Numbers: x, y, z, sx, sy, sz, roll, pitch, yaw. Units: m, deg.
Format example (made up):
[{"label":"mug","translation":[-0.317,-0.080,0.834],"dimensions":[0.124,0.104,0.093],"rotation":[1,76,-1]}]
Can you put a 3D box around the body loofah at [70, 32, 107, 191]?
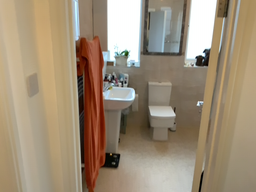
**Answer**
[{"label":"body loofah","translation":[-0.330,0.210,2.010],"dimensions":[0.140,1.550,0.700],"rotation":[2,17,3]}]

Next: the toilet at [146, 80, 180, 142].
[{"label":"toilet","translation":[0.510,0.210,3.330],"dimensions":[0.370,0.810,0.620],"rotation":[1,17,-1]}]

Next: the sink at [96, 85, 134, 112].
[{"label":"sink","translation":[-0.150,0.020,2.730],"dimensions":[0.450,0.180,0.520],"rotation":[2,17,0]}]
